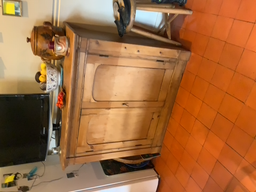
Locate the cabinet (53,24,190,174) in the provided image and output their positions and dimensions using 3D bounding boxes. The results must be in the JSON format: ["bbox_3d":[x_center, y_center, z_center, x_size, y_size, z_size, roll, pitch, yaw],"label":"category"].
[{"bbox_3d":[-0.120,0.030,1.920,0.480,0.950,1.110,46,130,54],"label":"cabinet"}]
